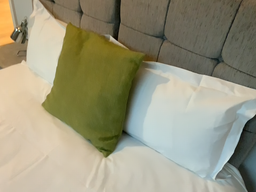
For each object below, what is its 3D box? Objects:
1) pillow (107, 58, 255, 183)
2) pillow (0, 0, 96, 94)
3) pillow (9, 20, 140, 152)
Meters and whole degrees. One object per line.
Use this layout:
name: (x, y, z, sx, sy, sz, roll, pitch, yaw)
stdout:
pillow: (0.210, 0.060, 0.950, 0.570, 0.400, 0.210, 10, 23, 32)
pillow: (-0.540, -0.300, 1.370, 0.670, 0.510, 0.170, 4, 17, 36)
pillow: (-0.290, -0.050, 1.060, 0.670, 0.510, 0.160, 2, 16, 36)
